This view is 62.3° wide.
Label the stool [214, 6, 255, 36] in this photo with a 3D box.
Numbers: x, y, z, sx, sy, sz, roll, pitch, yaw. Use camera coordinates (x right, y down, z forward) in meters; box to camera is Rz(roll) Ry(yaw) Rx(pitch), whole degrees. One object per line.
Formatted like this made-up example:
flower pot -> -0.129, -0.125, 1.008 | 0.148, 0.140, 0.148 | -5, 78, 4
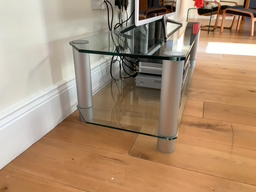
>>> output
stool -> 1.940, -1.300, 3.600 | 0.620, 0.420, 0.570 | -16, 29, -34
